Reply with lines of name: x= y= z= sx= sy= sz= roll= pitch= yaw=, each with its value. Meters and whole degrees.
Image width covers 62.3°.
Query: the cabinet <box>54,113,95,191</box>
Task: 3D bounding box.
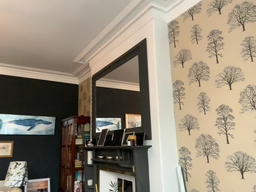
cabinet: x=-1.130 y=1.370 z=4.390 sx=0.470 sy=1.870 sz=1.130 roll=6 pitch=-14 yaw=-33
